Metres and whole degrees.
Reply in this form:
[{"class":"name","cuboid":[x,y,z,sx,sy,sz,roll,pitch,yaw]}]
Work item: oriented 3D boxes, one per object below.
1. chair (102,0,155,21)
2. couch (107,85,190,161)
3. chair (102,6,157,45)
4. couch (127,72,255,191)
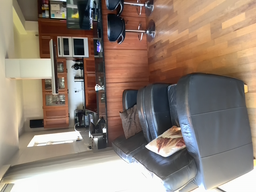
[{"class":"chair","cuboid":[-0.010,-1.600,3.600,0.470,0.790,0.430,178,89,-72]},{"class":"couch","cuboid":[0.240,0.330,3.080,0.930,0.850,0.870,173,95,-72]},{"class":"chair","cuboid":[0.010,-1.160,3.590,0.480,0.790,0.450,176,91,-72]},{"class":"couch","cuboid":[0.560,0.310,2.110,0.900,0.850,0.970,173,95,-72]}]
